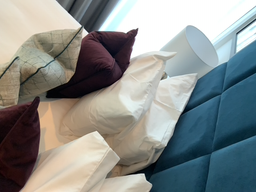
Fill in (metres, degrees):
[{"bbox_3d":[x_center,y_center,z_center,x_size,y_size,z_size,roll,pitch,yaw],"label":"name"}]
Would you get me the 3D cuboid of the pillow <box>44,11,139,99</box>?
[{"bbox_3d":[-0.210,-0.210,1.170,0.220,0.380,0.340,53,55,-10],"label":"pillow"}]
